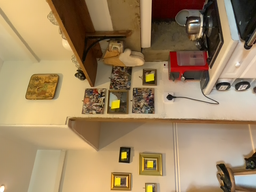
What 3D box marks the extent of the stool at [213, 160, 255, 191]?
[{"bbox_3d":[1.250,0.890,2.240,0.310,0.550,0.340,80,-167,-63],"label":"stool"}]
